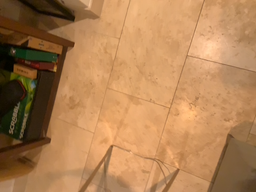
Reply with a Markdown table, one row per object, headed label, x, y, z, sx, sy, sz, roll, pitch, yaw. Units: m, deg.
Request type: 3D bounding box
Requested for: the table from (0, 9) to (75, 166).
| label | x | y | z | sx | sy | sz | roll | pitch | yaw |
| --- | --- | --- | --- | --- | --- | --- | --- | --- | --- |
| table | -0.710 | -0.050 | 1.100 | 0.370 | 0.730 | 0.730 | 17 | 97 | 17 |
